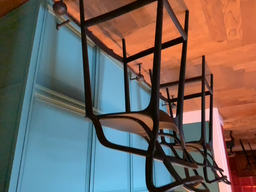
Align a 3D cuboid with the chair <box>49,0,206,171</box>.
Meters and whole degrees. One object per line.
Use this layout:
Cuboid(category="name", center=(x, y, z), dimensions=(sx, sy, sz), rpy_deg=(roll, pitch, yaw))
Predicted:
Cuboid(category="chair", center=(0.010, -0.100, 1.080), dimensions=(0.530, 0.890, 0.450), rpy_deg=(-13, 157, 27))
